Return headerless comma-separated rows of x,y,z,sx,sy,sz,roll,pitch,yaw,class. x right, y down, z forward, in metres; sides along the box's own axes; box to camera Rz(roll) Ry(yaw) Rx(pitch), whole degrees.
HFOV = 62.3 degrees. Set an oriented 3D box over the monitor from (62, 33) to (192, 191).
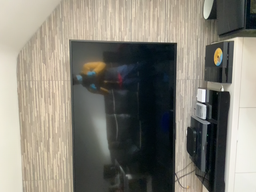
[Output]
-0.030,0.300,1.720,0.080,0.870,1.450,-127,45,-83,monitor
